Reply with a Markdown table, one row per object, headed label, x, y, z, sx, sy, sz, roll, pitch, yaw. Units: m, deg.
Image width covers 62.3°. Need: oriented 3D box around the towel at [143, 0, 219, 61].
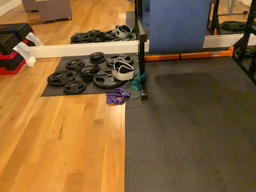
| label | x | y | z | sx | sy | sz | roll | pitch | yaw |
| --- | --- | --- | --- | --- | --- | --- | --- | --- | --- |
| towel | 0.520 | -0.810 | 2.240 | 0.710 | 0.830 | 0.230 | -2 | 36 | 2 |
